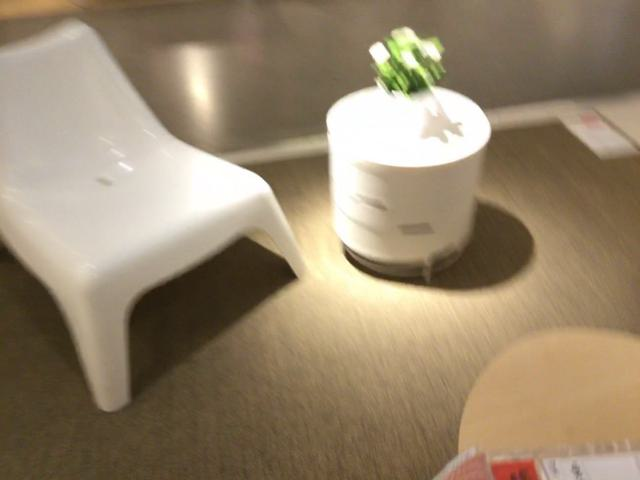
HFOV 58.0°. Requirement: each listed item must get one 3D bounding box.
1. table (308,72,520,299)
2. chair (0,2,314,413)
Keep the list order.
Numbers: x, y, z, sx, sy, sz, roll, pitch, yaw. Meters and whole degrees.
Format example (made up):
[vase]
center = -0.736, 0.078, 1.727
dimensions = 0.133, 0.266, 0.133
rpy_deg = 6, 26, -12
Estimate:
[table]
center = 0.250, -0.180, 1.770
dimensions = 0.470, 0.460, 0.460
rpy_deg = -9, 37, -7
[chair]
center = -0.560, -0.160, 1.630
dimensions = 0.690, 0.710, 0.760
rpy_deg = -34, 45, -31
